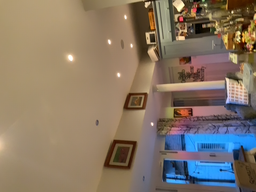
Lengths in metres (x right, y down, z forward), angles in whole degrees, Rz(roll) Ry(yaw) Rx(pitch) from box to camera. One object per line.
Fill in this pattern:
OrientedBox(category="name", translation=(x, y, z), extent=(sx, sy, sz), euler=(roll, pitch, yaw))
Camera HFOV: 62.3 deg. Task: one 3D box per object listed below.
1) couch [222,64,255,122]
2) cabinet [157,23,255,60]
OrientedBox(category="couch", translation=(2.180, -0.080, 3.790), extent=(0.740, 0.820, 0.860), euler=(-47, -47, -67))
OrientedBox(category="cabinet", translation=(1.800, -1.270, 5.020), extent=(0.480, 2.120, 0.470), euler=(-71, -27, -50))
